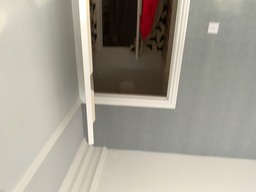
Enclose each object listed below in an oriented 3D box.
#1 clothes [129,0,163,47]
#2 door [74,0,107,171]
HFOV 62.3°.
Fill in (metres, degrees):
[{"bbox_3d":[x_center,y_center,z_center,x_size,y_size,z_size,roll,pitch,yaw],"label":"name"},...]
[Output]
[{"bbox_3d":[0.320,-1.470,3.490,0.280,1.170,0.590,17,-151,29],"label":"clothes"},{"bbox_3d":[-0.290,-0.730,1.390,0.110,2.330,0.930,-5,-154,-14],"label":"door"}]
